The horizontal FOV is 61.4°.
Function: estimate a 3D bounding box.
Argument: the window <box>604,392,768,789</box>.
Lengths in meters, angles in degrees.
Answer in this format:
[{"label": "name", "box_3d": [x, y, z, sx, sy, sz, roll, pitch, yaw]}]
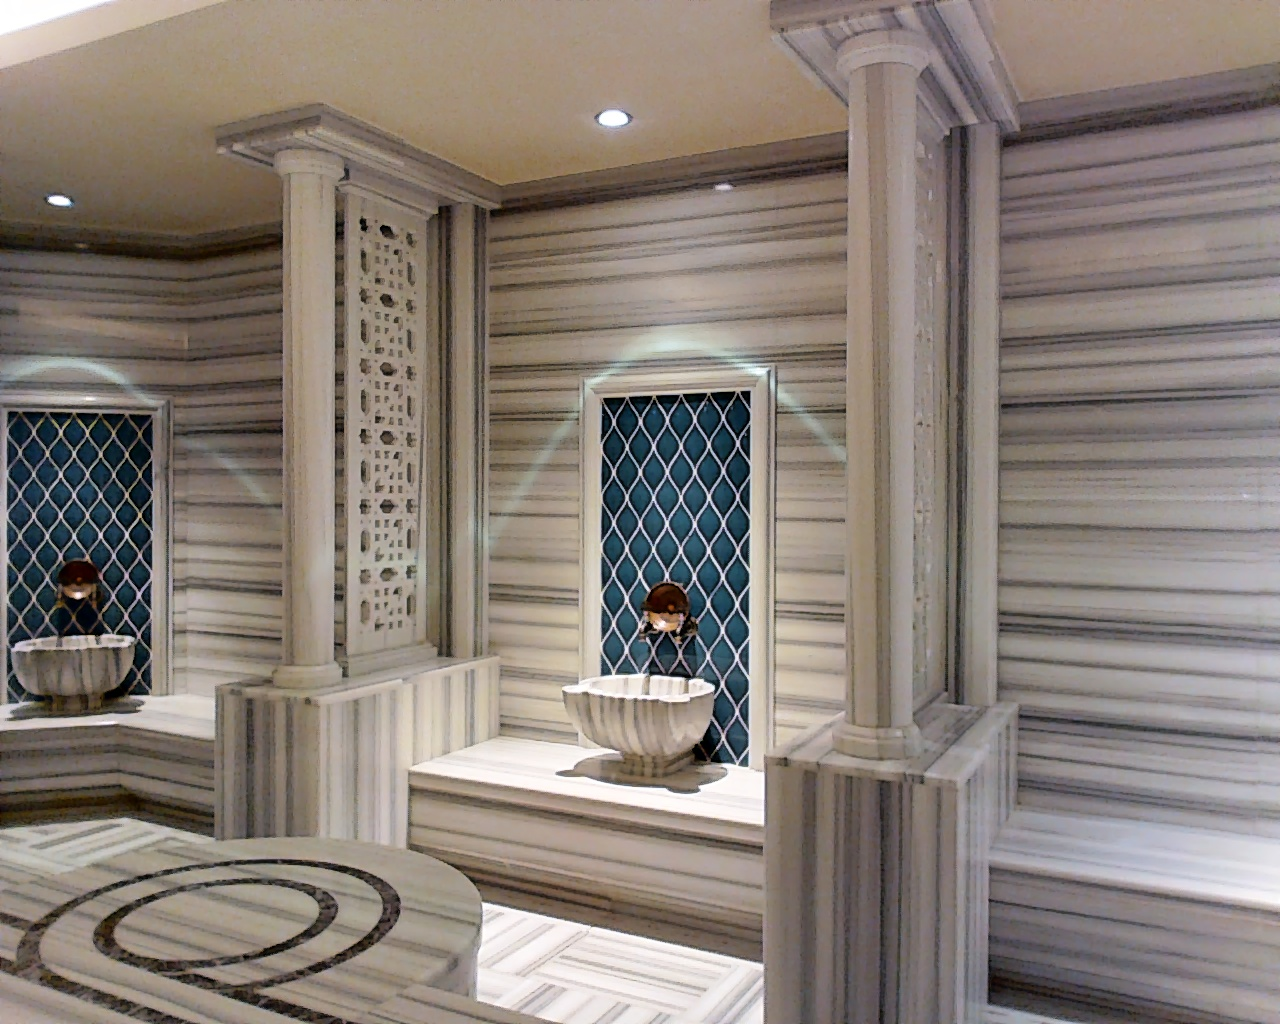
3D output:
[{"label": "window", "box_3d": [0.180, 0.310, 4.480, 0.730, 1.580, 0.030, 1, 0, 29]}]
